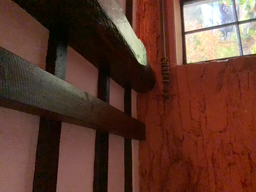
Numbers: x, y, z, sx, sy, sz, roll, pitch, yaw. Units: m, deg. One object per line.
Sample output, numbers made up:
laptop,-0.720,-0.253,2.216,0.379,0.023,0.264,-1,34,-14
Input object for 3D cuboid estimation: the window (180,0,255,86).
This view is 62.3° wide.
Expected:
window,1.100,-0.650,2.100,0.120,1.080,1.020,41,-133,-64
